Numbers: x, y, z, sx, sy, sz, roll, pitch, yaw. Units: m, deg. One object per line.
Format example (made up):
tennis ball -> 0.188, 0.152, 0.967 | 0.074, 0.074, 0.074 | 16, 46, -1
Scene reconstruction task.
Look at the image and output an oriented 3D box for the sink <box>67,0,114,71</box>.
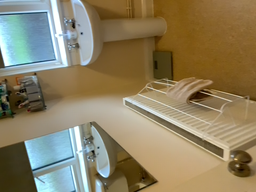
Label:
sink -> -0.320, -0.530, 1.770 | 0.420, 0.180, 0.560 | 26, 125, 57
